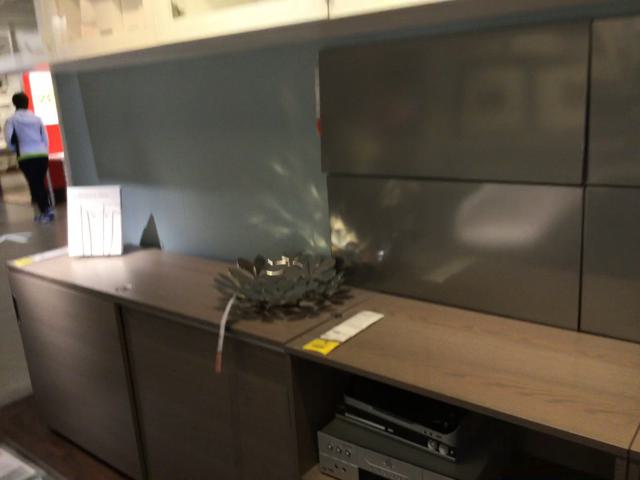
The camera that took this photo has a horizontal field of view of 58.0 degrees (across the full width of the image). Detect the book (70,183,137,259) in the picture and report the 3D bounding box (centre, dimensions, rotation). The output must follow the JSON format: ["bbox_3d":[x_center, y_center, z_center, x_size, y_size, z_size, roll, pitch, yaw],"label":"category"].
[{"bbox_3d":[-0.910,-0.080,2.440,0.210,0.290,0.110,7,1,-8],"label":"book"}]
